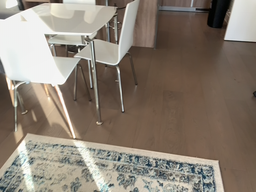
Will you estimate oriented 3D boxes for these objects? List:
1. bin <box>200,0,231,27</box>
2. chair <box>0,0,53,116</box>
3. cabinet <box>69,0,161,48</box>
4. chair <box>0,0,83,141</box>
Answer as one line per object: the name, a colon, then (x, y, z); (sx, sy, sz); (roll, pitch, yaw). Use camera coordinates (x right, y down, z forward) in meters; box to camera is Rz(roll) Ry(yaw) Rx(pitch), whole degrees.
bin: (1.530, -1.600, 3.700); (0.380, 0.630, 0.450); (8, 36, 11)
chair: (-1.250, -0.460, 1.860); (0.710, 0.980, 0.690); (6, 36, 8)
cabinet: (-0.140, -1.350, 3.130); (1.180, 0.930, 0.790); (7, 36, 9)
chair: (-0.630, -0.170, 1.540); (0.370, 0.870, 0.470); (5, 36, 7)
